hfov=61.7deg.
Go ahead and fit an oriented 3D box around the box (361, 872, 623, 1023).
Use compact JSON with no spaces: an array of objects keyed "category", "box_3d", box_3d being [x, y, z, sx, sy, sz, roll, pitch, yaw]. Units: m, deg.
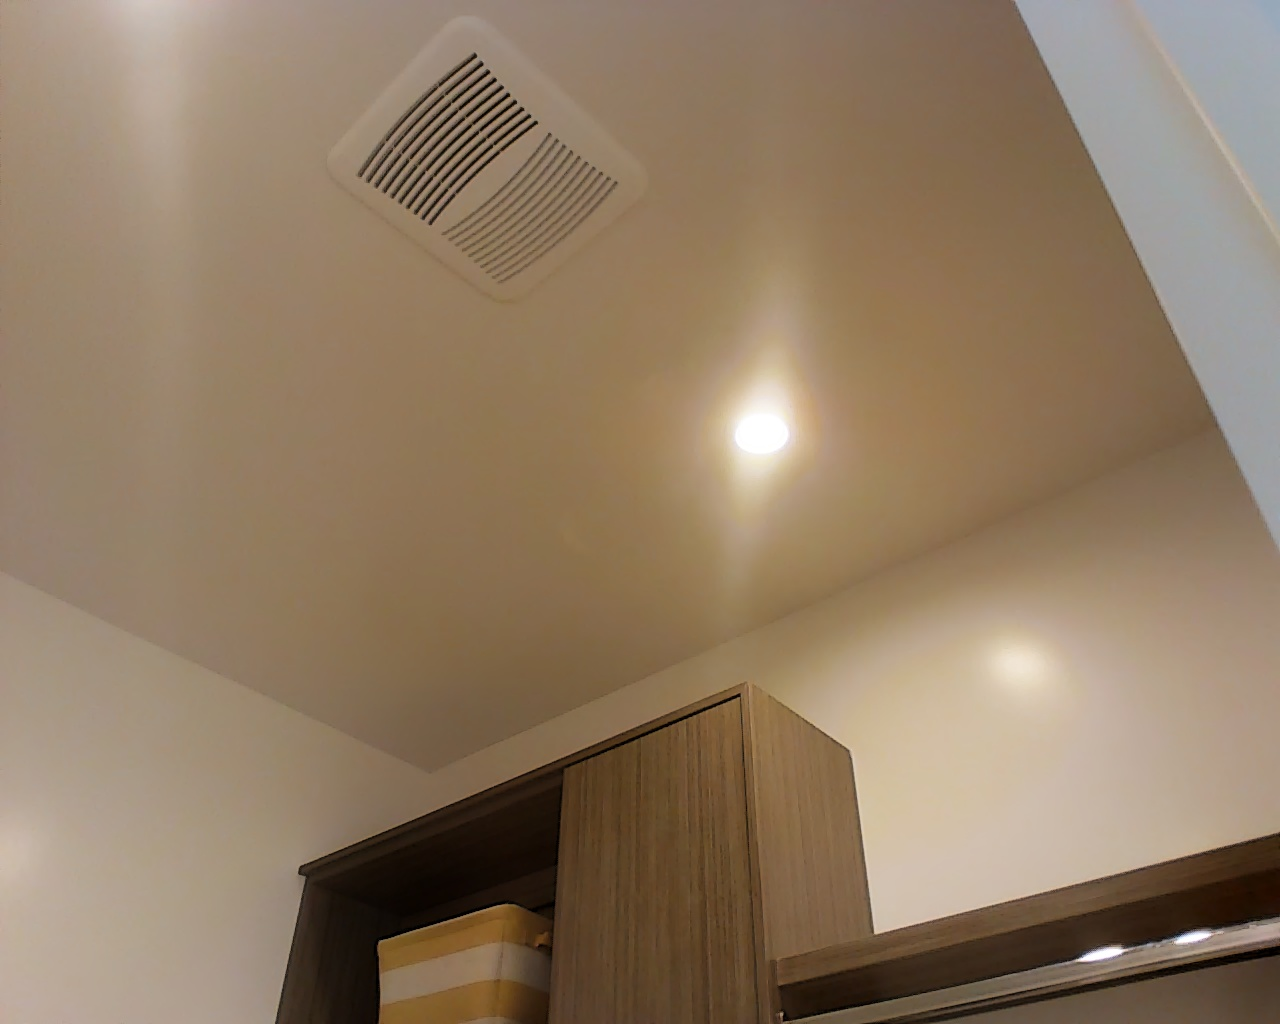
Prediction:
[{"category":"box","box_3d":[-0.290,0.940,2.090,0.440,0.300,0.260,-26,-48,29]}]
